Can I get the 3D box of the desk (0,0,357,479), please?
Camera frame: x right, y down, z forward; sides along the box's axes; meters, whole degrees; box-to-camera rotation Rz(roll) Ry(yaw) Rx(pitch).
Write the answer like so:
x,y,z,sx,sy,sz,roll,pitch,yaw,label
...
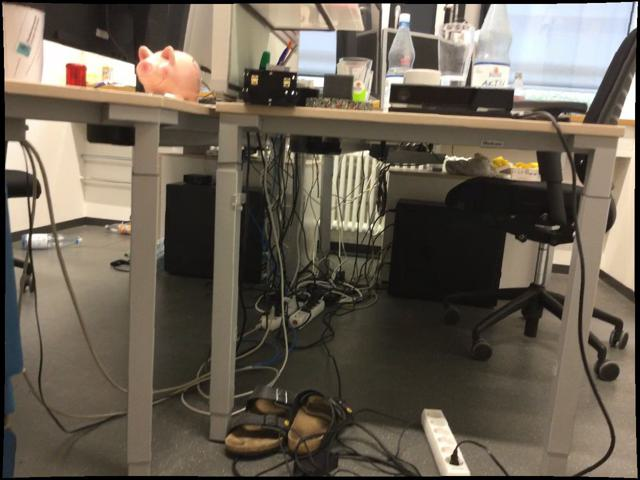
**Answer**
x,y,z,sx,sy,sz,roll,pitch,yaw,label
-0.639,-0.110,1.950,1.229,0.801,2.910,6,11,7,desk
